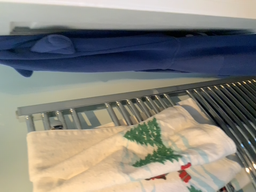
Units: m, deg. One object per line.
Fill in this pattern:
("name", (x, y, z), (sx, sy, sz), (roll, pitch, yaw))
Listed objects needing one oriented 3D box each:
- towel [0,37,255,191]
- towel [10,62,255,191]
("towel", (0.170, -0.090, 0.710), (0.500, 1.120, 0.190), (23, 117, 58))
("towel", (0.090, 0.150, 0.560), (0.370, 0.650, 0.250), (66, 148, 26))
